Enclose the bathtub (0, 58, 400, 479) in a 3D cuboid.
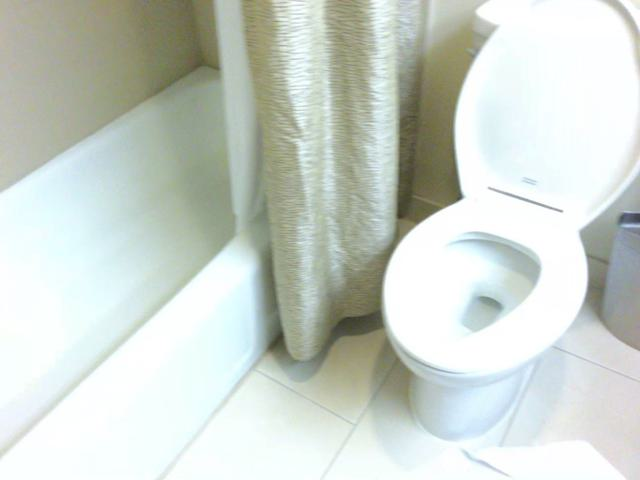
[{"bbox_3d":[-0.470,0.080,1.480,0.730,0.410,1.440,22,48,27],"label":"bathtub"}]
